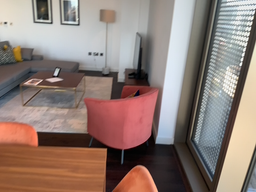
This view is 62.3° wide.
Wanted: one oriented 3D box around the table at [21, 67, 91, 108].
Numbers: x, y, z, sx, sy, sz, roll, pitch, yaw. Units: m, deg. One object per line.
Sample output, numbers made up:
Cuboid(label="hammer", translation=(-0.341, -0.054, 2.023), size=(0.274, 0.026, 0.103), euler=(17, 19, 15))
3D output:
Cuboid(label="table", translation=(-1.240, -0.190, 3.900), size=(0.940, 0.410, 0.930), euler=(4, 21, 0))
